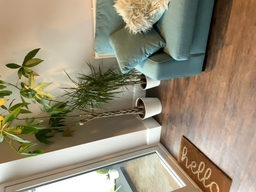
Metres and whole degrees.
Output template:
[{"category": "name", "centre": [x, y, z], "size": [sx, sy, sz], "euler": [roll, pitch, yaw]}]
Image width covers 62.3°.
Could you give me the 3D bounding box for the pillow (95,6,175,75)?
[{"category": "pillow", "centre": [0.080, -0.540, 1.980], "size": [0.510, 0.490, 0.280], "euler": [47, 131, 8]}]
